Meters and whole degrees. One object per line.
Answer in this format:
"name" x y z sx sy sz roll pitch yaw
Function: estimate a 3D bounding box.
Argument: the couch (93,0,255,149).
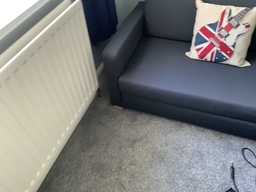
"couch" 0.610 -0.240 1.480 1.390 0.700 0.780 13 51 15

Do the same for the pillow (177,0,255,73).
"pillow" 0.610 -0.410 1.380 0.420 0.370 0.150 28 54 -6
